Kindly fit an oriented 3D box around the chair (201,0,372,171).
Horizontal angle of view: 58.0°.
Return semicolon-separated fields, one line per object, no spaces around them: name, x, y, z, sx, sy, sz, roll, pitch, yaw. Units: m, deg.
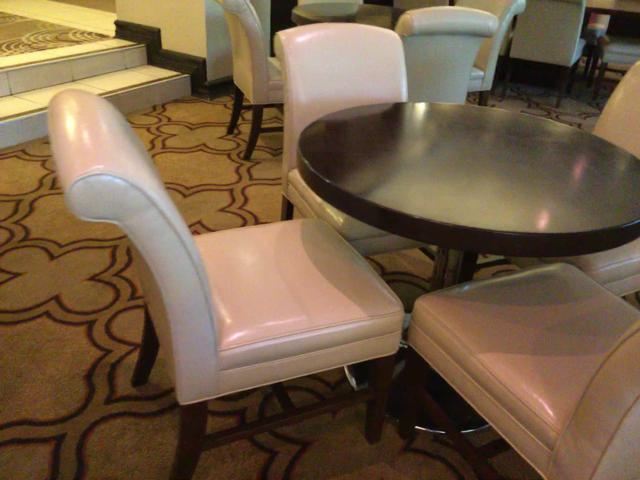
chair;-0.220;-0.990;3.350;0.770;0.930;0.590;-10;33;-22

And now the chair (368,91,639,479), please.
chair;0.580;0.250;1.260;0.570;0.910;0.740;-12;33;-24

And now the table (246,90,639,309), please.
table;0.380;-0.200;1.520;0.910;0.080;0.890;-10;33;-22

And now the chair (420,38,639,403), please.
chair;0.890;-0.110;1.890;0.810;0.920;0.580;-10;33;-22

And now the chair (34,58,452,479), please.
chair;-0.210;0.090;1.440;0.740;0.910;0.540;-10;33;-22

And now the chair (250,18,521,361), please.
chair;0.140;-0.230;2.070;0.560;0.930;0.760;-10;33;-22
